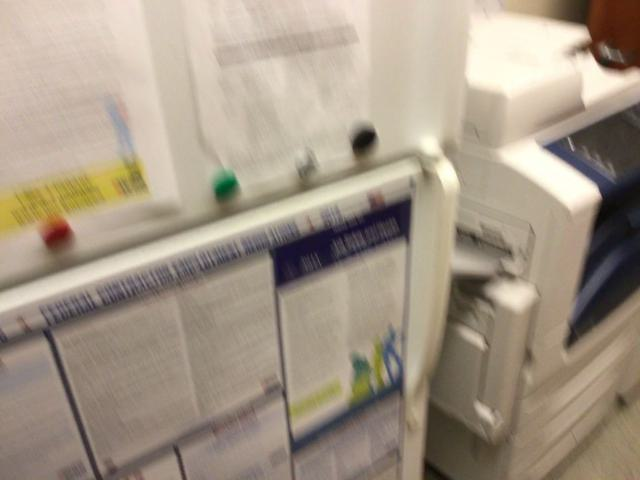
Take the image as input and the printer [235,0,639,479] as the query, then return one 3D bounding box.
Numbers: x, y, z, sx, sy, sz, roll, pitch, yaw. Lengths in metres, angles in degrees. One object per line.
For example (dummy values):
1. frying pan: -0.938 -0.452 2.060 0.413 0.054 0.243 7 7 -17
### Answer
1. printer: 0.530 0.020 1.550 1.150 1.130 0.690 -23 35 -27
